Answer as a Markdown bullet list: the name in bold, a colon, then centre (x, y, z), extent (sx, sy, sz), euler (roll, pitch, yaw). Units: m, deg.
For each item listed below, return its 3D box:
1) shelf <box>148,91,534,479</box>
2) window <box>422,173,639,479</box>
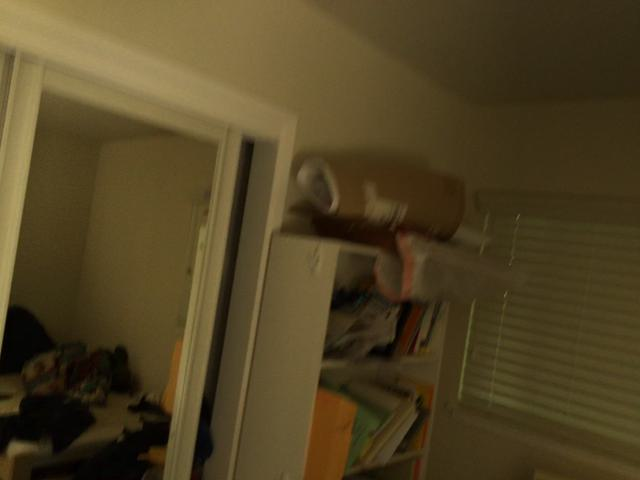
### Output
- **shelf**: centre (0.030, 0.710, 1.820), extent (0.870, 2.040, 0.670), euler (12, -6, -42)
- **window**: centre (1.210, 0.320, 1.760), extent (0.190, 1.050, 1.930), euler (12, -6, -42)
